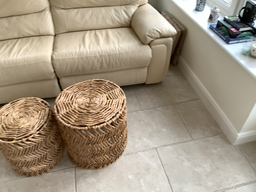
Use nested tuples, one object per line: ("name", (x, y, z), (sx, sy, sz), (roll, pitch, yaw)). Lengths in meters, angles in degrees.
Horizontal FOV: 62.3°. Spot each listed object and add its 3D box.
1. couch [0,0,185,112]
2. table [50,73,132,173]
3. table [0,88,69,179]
("couch", (-0.700, -0.620, 1.960), (2.070, 0.970, 0.990), (-8, 44, -8))
("table", (-0.240, 0.180, 1.490), (0.450, 0.460, 0.450), (-8, 44, -7))
("table", (-0.650, 0.250, 1.450), (0.390, 0.410, 0.390), (-8, 44, -7))
